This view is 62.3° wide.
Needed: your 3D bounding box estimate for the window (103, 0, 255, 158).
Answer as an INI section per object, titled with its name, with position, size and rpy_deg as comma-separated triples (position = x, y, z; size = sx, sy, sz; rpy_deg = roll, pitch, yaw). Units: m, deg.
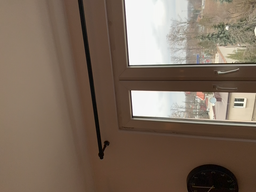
[window]
position = 0.650, -0.450, 1.340
size = 0.270, 1.580, 1.770
rpy_deg = -55, -36, -64
